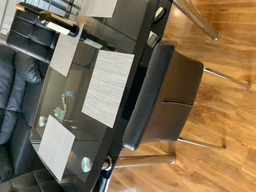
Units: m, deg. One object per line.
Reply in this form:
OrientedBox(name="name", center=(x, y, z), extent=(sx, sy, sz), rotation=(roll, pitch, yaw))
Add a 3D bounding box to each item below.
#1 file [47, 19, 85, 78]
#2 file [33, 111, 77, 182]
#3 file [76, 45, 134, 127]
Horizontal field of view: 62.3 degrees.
OrientedBox(name="file", center=(-0.390, -0.300, 1.310), extent=(0.250, 0.020, 0.320), rotation=(30, 101, 43))
OrientedBox(name="file", center=(-0.430, 0.270, 1.210), extent=(0.340, 0.030, 0.270), rotation=(22, 96, 44))
OrientedBox(name="file", center=(-0.120, -0.060, 0.980), extent=(0.260, 0.020, 0.330), rotation=(21, 95, 44))
